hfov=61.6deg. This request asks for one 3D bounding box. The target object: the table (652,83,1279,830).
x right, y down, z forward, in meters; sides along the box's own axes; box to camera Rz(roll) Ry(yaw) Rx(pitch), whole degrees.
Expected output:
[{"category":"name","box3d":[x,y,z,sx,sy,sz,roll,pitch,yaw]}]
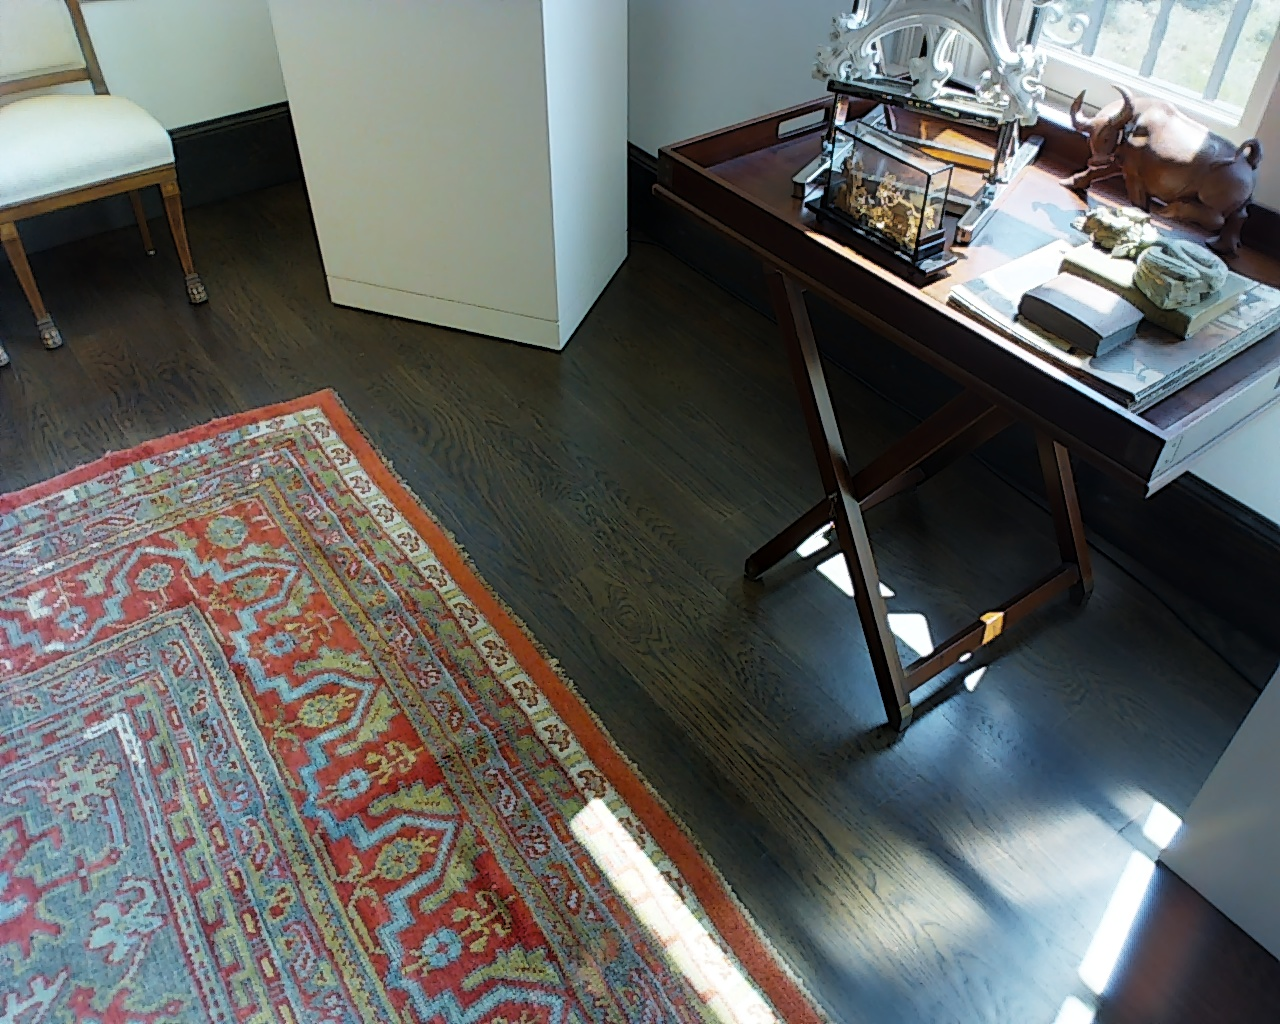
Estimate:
[{"category":"table","box3d":[0.600,-0.160,1.900,0.760,0.750,0.890,-26,49,-27]}]

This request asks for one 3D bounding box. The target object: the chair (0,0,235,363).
[{"category":"chair","box3d":[-1.420,-0.920,2.590,0.490,0.840,0.560,-26,49,-26]}]
